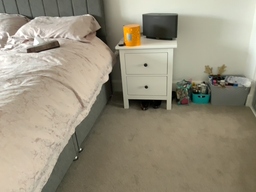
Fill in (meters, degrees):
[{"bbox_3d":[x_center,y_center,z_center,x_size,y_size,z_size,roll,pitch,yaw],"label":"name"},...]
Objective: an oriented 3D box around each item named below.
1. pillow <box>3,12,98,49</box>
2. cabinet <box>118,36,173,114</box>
[{"bbox_3d":[-0.680,-0.610,1.960,0.670,0.240,0.420,2,28,11],"label":"pillow"},{"bbox_3d":[0.200,-0.220,2.170,0.480,0.670,0.410,2,28,11],"label":"cabinet"}]
